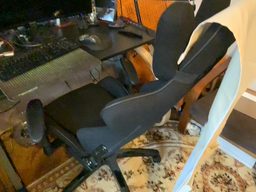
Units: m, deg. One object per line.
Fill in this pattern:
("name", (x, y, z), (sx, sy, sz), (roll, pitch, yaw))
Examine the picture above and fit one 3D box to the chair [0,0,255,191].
("chair", (-0.100, 0.050, 1.040), (0.690, 1.150, 0.890), (-28, 48, -32))
